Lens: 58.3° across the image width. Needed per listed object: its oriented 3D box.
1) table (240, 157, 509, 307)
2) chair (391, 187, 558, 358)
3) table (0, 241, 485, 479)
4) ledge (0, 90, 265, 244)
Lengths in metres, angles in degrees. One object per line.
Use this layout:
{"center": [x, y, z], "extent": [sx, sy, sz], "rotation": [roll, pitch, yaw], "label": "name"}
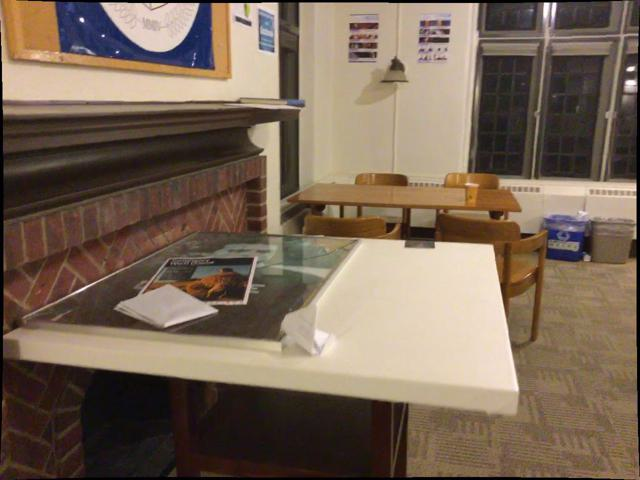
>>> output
{"center": [0.420, -0.110, 4.150], "extent": [1.659, 0.791, 1.070], "rotation": [0, 16, 12], "label": "table"}
{"center": [0.819, 0.150, 3.270], "extent": [0.739, 0.741, 0.730], "rotation": [-3, 16, 2], "label": "chair"}
{"center": [-0.210, 0.651, 1.540], "extent": [1.169, 0.951, 1.340], "rotation": [0, 16, 12], "label": "table"}
{"center": [-0.589, -0.310, 1.770], "extent": [0.300, 0.220, 1.890], "rotation": [0, 16, 12], "label": "ledge"}
